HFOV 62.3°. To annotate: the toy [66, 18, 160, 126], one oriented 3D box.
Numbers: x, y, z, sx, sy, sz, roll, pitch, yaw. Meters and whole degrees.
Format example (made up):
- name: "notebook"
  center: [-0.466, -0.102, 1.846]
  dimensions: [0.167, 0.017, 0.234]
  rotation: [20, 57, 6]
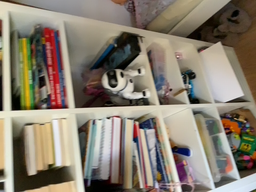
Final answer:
- name: "toy"
  center: [-0.080, -0.080, 0.900]
  dimensions: [0.240, 0.270, 0.350]
  rotation: [-33, 62, 52]
